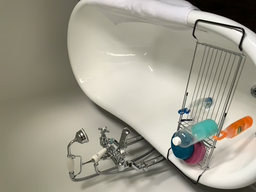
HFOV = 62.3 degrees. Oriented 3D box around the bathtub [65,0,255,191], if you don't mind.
[{"bbox_3d":[0.220,-0.150,1.310,1.510,0.720,0.740,37,130,49],"label":"bathtub"}]
